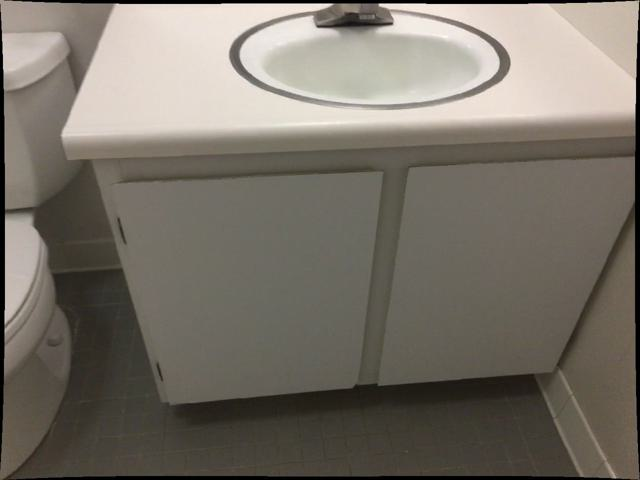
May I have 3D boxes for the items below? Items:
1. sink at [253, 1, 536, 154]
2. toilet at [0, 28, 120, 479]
[{"bbox_3d":[0.120,-0.341,1.170,0.489,0.140,0.340,-3,46,-9],"label":"sink"},{"bbox_3d":[-0.779,0.050,1.220,0.499,0.711,0.691,-3,46,-9],"label":"toilet"}]
